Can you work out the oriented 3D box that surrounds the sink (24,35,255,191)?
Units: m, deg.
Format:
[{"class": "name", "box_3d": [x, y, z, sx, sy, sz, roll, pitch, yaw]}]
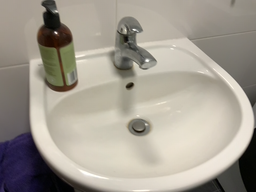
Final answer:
[{"class": "sink", "box_3d": [0.040, 0.040, 0.530, 0.510, 0.150, 0.420, -12, 45, -18]}]
